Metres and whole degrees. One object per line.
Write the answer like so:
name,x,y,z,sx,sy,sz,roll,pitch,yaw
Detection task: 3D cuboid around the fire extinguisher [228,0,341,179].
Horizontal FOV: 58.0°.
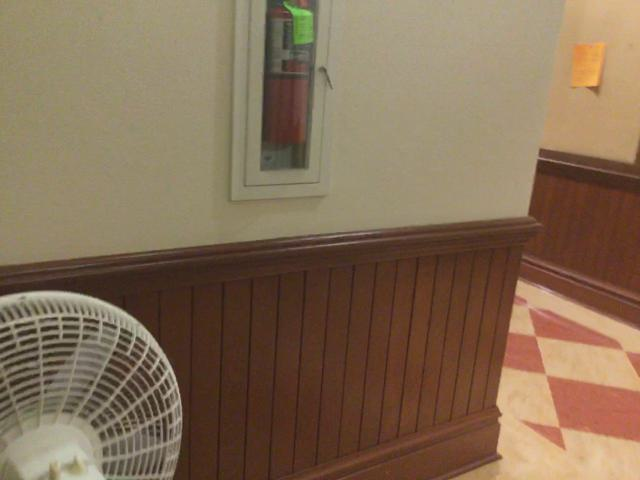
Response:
fire extinguisher,-0.090,-0.450,1.440,0.220,0.570,0.170,-6,14,-30
